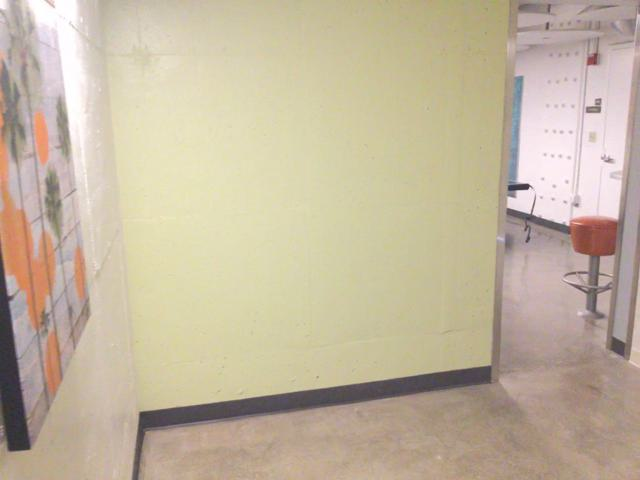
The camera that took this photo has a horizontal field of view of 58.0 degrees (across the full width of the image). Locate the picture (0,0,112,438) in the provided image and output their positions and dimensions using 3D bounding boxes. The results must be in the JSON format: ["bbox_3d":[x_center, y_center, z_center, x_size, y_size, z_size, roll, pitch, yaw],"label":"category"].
[{"bbox_3d":[-0.510,-0.140,1.080,0.070,0.780,0.640,-9,7,-15],"label":"picture"}]
